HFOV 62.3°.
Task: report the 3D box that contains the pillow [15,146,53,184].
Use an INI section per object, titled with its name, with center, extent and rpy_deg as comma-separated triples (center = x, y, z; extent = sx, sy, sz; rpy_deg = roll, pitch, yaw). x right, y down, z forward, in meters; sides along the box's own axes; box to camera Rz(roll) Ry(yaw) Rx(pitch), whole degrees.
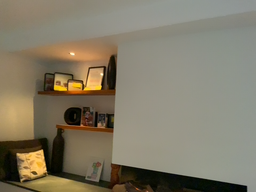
[pillow]
center = -1.390, 1.010, 3.160
extent = 0.180, 0.440, 0.480
rpy_deg = -19, -16, 25
